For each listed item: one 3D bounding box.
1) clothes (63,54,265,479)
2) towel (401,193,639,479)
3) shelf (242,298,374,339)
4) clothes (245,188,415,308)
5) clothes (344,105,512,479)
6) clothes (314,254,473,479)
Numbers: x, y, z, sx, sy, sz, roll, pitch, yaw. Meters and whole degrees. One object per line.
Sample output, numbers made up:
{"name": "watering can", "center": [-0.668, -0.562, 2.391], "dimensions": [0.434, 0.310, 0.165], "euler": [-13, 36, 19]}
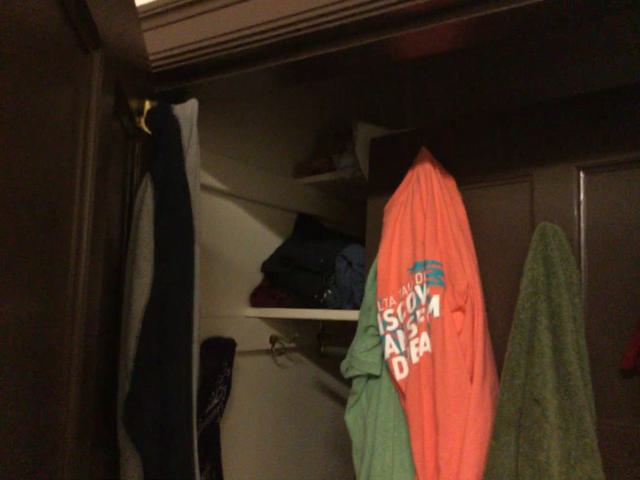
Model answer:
{"name": "clothes", "center": [-0.190, 0.230, 0.710], "dimensions": [0.160, 0.860, 0.160], "euler": [-3, -7, 28]}
{"name": "towel", "center": [0.310, 0.470, 0.790], "dimensions": [0.350, 1.030, 0.190], "euler": [-3, -7, 28]}
{"name": "shelf", "center": [-0.030, 0.170, 1.280], "dimensions": [0.290, 0.080, 0.080], "euler": [-3, -7, 28]}
{"name": "clothes", "center": [0.040, 0.040, 1.420], "dimensions": [0.280, 0.250, 0.360], "euler": [-3, -7, 28]}
{"name": "clothes", "center": [0.180, 0.180, 0.950], "dimensions": [0.220, 0.740, 0.180], "euler": [-3, -7, 28]}
{"name": "clothes", "center": [0.120, 0.330, 0.950], "dimensions": [0.230, 0.600, 0.120], "euler": [-3, -7, 28]}
